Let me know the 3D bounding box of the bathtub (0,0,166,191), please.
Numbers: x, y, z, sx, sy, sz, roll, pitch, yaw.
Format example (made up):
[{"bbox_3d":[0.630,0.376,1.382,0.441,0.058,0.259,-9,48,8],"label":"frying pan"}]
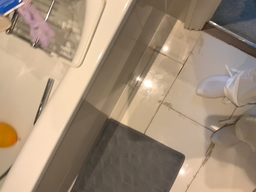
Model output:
[{"bbox_3d":[-0.600,0.170,0.880,0.760,0.540,1.720,29,95,8],"label":"bathtub"}]
